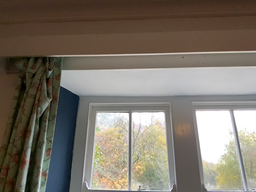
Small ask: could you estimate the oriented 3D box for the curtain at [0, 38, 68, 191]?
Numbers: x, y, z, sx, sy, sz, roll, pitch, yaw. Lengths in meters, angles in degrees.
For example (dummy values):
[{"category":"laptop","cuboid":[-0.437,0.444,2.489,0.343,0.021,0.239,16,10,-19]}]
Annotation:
[{"category":"curtain","cuboid":[-0.490,0.510,0.800,0.270,1.640,0.190,-1,-24,4]}]
